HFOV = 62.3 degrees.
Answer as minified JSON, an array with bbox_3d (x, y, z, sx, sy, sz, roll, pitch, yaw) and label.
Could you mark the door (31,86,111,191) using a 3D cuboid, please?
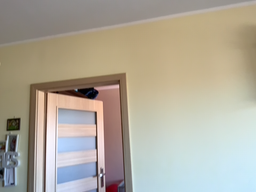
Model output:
[{"bbox_3d":[-0.550,1.010,2.290,0.070,2.120,1.010,-11,-14,35],"label":"door"}]
